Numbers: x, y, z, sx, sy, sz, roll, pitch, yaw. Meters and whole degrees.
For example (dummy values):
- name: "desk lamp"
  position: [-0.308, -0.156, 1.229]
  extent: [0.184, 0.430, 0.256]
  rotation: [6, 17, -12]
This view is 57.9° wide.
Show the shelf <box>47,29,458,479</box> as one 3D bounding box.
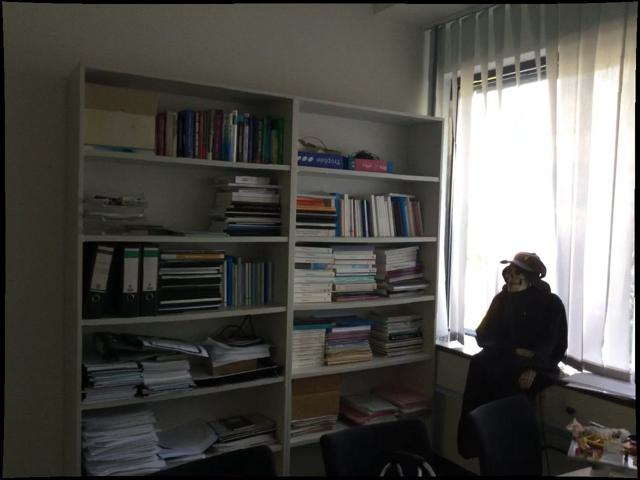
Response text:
- name: "shelf"
  position: [-0.230, 0.290, 2.920]
  extent: [1.979, 2.212, 0.520]
  rotation: [-2, 5, -32]

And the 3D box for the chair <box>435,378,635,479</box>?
- name: "chair"
  position: [0.789, 1.001, 2.180]
  extent: [0.510, 0.771, 0.480]
  rotation: [-2, 5, -32]
